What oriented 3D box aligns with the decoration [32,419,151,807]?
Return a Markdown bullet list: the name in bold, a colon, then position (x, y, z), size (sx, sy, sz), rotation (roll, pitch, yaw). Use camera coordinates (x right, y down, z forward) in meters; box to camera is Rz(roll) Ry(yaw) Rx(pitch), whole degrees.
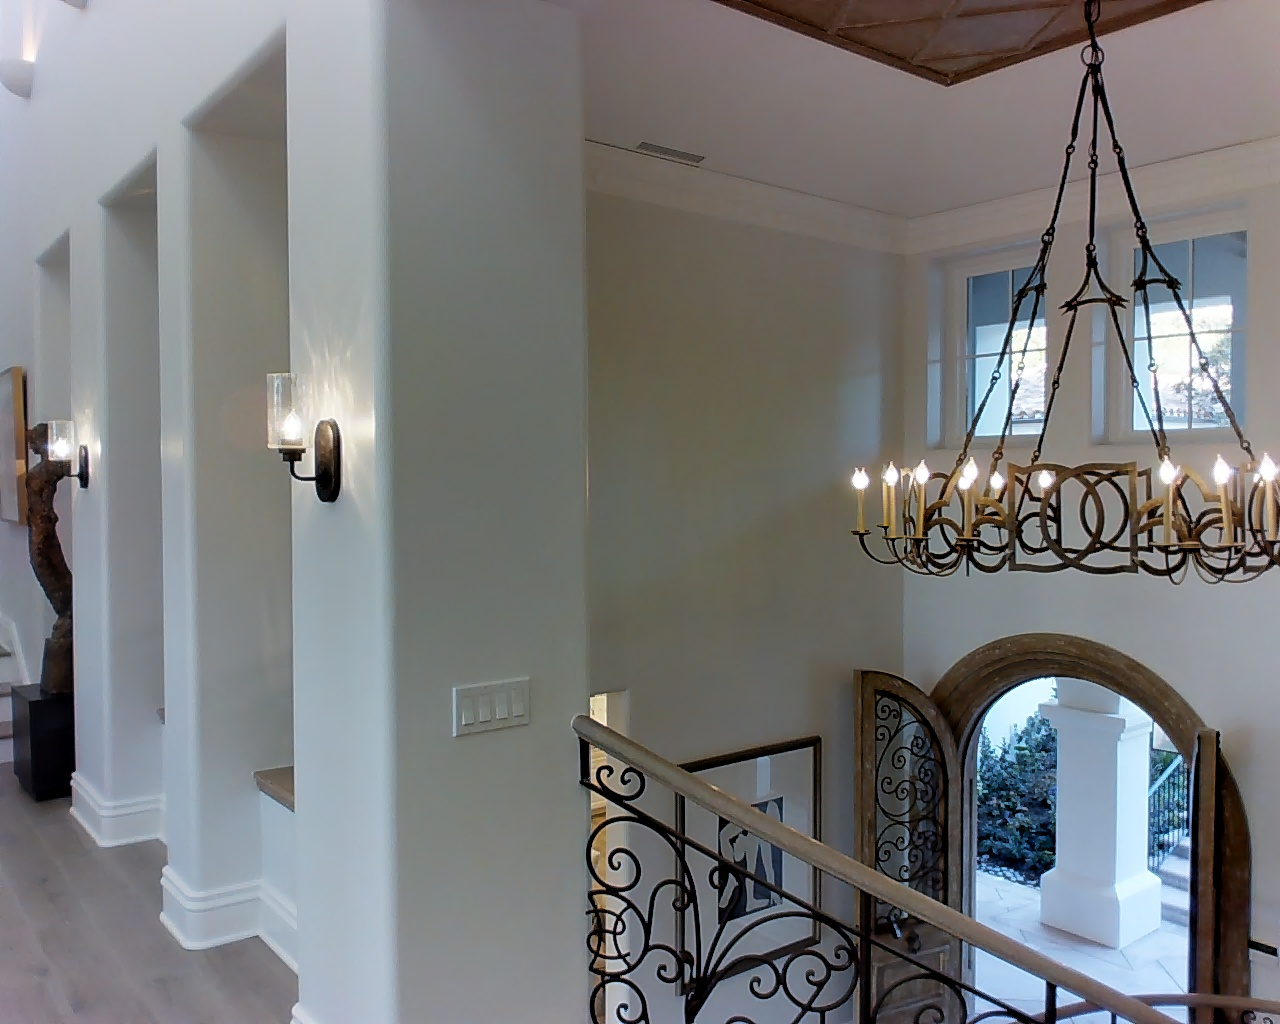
- **decoration**: position (-2.829, 0.480, 5.530), size (0.430, 1.881, 0.540), rotation (-1, 3, -38)
